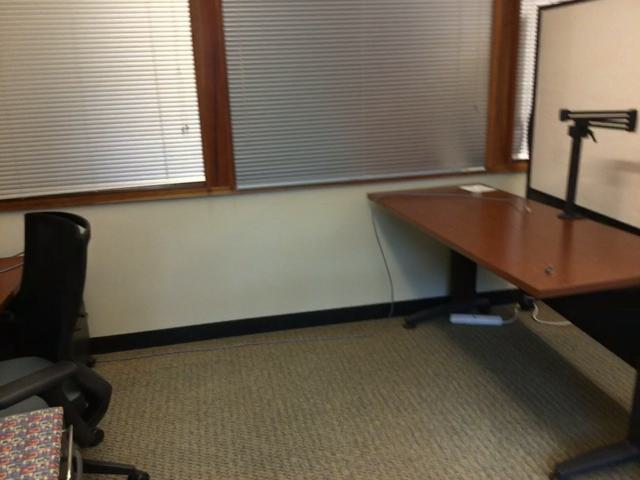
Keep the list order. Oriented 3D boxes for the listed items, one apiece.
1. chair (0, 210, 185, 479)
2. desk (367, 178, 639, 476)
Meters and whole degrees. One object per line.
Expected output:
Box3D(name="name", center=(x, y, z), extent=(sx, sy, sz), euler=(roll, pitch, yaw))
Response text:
Box3D(name="chair", center=(-0.970, 0.440, 1.810), extent=(0.690, 0.940, 0.670), euler=(4, 15, 39))
Box3D(name="desk", center=(0.800, 0.180, 2.390), extent=(0.750, 0.680, 1.430), euler=(-8, 12, -12))
